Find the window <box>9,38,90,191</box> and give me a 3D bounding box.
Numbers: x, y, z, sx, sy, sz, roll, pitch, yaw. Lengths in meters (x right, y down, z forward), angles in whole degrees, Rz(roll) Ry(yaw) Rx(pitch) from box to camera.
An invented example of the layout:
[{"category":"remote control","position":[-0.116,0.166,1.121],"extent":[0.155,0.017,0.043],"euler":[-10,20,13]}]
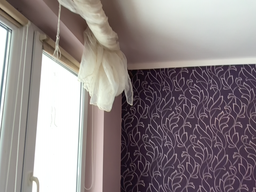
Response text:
[{"category":"window","position":[-0.470,0.420,1.430],"extent":[0.170,1.390,0.700],"euler":[-2,-11,8]}]
